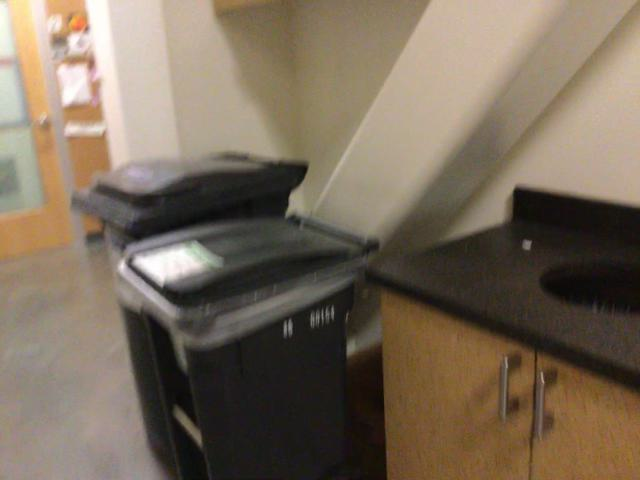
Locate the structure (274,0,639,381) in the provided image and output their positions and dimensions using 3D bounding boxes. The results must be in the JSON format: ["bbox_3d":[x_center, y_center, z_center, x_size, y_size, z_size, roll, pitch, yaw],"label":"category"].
[{"bbox_3d":[0.410,-0.380,1.500,0.360,1.080,1.340,-14,18,-34],"label":"structure"}]

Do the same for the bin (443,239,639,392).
[{"bbox_3d":[0.620,0.150,1.430,0.440,0.150,0.430,-14,18,-34],"label":"bin"}]

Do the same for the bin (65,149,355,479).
[{"bbox_3d":[-0.380,0.240,2.140,0.760,1.030,0.600,-14,18,-34],"label":"bin"}]

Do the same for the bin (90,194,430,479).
[{"bbox_3d":[-0.170,0.410,1.780,0.720,0.930,0.680,-14,18,-34],"label":"bin"}]
